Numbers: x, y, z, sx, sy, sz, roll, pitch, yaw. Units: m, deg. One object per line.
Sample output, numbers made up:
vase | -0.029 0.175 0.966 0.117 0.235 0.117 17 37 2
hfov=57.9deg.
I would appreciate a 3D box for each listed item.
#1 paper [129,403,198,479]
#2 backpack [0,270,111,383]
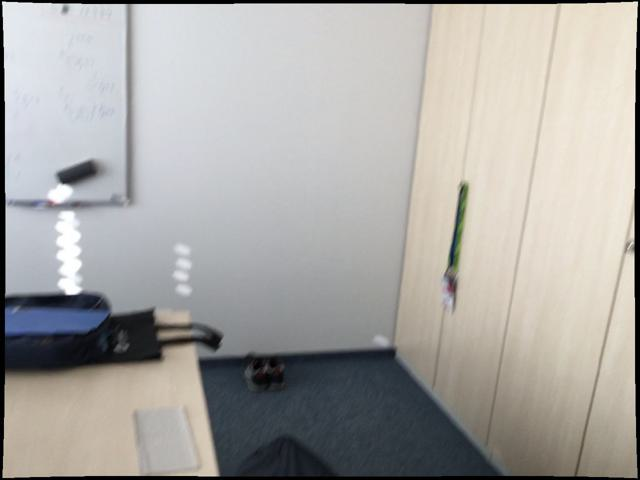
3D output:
paper | -0.340 0.430 1.250 0.130 0.010 0.240 -1 18 -16
backpack | -0.819 0.230 1.670 0.360 0.110 0.500 -1 17 -15
